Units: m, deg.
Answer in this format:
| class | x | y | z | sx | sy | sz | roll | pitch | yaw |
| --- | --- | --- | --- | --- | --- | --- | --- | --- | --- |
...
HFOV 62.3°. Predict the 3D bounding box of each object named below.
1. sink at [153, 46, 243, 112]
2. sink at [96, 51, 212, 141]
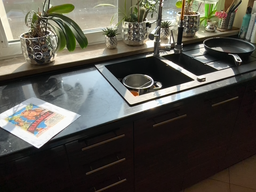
| class | x | y | z | sx | sy | sz | roll | pitch | yaw |
| --- | --- | --- | --- | --- | --- | --- | --- | --- | --- |
| sink | 0.400 | -0.140 | 1.350 | 0.230 | 0.180 | 0.530 | -15 | 34 | -21 |
| sink | 0.110 | -0.050 | 1.240 | 0.430 | 0.210 | 0.530 | -15 | 34 | -21 |
